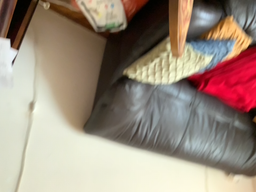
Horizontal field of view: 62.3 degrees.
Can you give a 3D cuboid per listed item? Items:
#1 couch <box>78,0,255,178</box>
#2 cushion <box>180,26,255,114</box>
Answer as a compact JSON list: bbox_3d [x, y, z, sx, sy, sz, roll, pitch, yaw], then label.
[{"bbox_3d":[0.800,0.000,1.650,1.920,0.900,1.070,23,148,-30],"label":"couch"},{"bbox_3d":[0.860,-0.120,1.570,0.710,0.150,0.590,20,148,-26],"label":"cushion"}]
